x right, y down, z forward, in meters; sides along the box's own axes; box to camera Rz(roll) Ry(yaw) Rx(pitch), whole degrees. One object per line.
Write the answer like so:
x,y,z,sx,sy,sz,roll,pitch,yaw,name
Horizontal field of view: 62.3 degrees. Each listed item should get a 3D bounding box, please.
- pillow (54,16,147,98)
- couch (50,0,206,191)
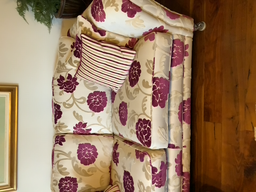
-0.180,-0.240,1.600,0.180,0.510,0.530,47,109,20,pillow
-0.070,0.320,1.780,1.020,0.900,2.030,0,90,57,couch
